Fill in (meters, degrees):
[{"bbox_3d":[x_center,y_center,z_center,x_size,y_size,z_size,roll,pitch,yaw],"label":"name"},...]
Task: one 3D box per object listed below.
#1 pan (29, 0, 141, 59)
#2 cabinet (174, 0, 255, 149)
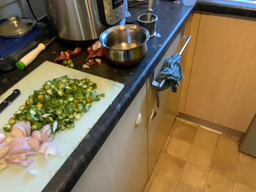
[{"bbox_3d":[-0.130,-0.340,0.690,0.250,0.290,0.270,18,49,22],"label":"pan"},{"bbox_3d":[0.640,-0.220,1.380,0.430,0.930,0.590,17,49,21],"label":"cabinet"}]
